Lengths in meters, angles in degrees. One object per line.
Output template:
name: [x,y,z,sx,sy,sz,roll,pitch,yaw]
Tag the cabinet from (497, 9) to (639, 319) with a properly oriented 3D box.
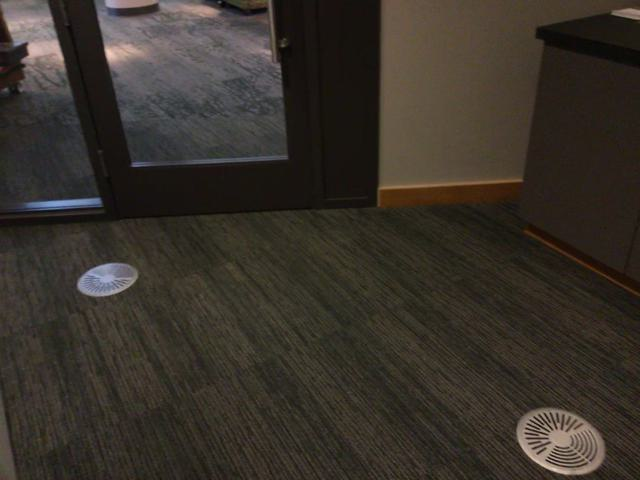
cabinet: [1.040,-0.180,1.810,0.140,0.840,1.090,-16,35,-22]
